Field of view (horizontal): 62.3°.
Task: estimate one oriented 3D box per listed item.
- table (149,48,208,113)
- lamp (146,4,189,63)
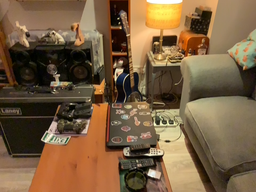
[{"bbox_3d":[0.500,-0.170,2.260,0.460,0.580,0.360,-1,32,-4],"label":"table"},{"bbox_3d":[0.330,-0.560,1.900,0.280,0.450,0.260,-1,32,-3],"label":"lamp"}]
